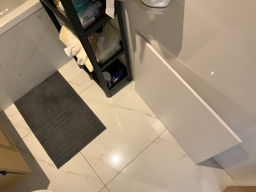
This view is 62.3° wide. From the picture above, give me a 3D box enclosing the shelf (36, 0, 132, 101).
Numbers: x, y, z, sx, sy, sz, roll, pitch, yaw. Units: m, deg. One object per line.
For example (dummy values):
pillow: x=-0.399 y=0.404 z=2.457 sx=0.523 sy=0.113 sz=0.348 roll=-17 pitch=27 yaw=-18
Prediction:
shelf: x=-0.220 y=-0.360 z=1.110 sx=0.260 sy=0.990 sz=0.370 roll=-37 pitch=70 yaw=-11
